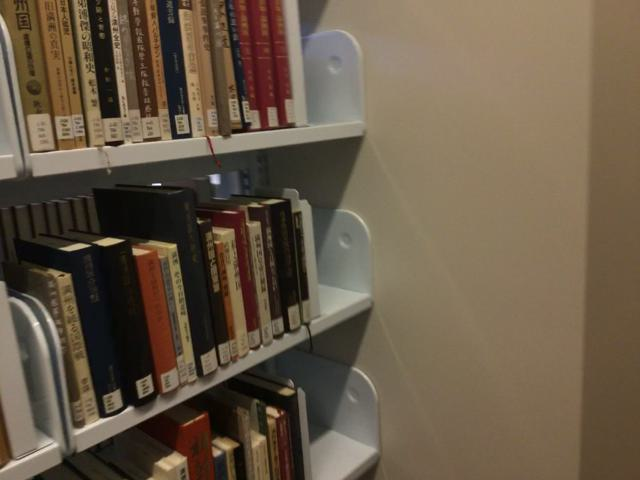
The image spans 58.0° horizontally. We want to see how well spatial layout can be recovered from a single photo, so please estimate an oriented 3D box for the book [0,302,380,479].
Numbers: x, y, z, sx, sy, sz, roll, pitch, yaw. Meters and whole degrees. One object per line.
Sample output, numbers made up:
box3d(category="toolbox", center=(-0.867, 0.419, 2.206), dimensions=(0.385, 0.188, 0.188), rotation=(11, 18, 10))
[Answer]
box3d(category="book", center=(-0.170, 0.360, 0.970), dimensions=(0.220, 0.320, 0.610), rotation=(6, 16, 40))
